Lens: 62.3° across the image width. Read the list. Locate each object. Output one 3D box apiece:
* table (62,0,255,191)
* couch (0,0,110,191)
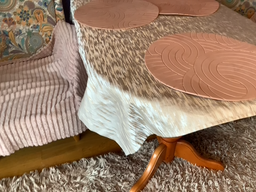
[{"bbox_3d":[0.100,-0.170,1.230,0.730,0.710,1.430,-12,43,-14],"label":"table"},{"bbox_3d":[-0.620,-0.240,1.070,0.780,1.020,0.950,-12,43,-14],"label":"couch"}]
